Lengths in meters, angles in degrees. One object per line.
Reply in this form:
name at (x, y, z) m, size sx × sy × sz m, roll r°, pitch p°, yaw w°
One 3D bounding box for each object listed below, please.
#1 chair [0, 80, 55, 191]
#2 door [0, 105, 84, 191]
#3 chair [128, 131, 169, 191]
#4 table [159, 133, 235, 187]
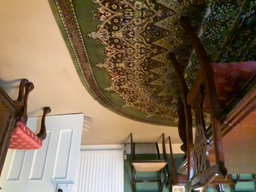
chair at (-1.120, 0.430, 1.940) m, size 0.550 × 0.990 × 0.560 m, roll -2°, pitch 150°, yaw 2°
door at (-0.990, 1.060, 2.130) m, size 0.900 × 2.090 × 0.060 m, roll -4°, pitch 150°, yaw 6°
chair at (0.270, 1.030, 3.190) m, size 0.520 × 0.850 × 0.580 m, roll -1°, pitch 150°, yaw 0°
table at (1.000, 0.990, 3.280) m, size 0.930 × 0.700 × 0.450 m, roll -1°, pitch 150°, yaw 0°
